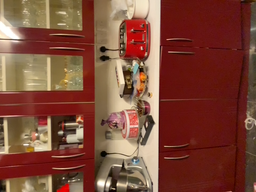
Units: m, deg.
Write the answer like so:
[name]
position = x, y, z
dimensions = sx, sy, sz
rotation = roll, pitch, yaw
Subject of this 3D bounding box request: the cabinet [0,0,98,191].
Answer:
[cabinet]
position = -0.690, 0.030, 1.510
dimensions = 0.410, 0.890, 1.620
rotation = -170, 80, -73
